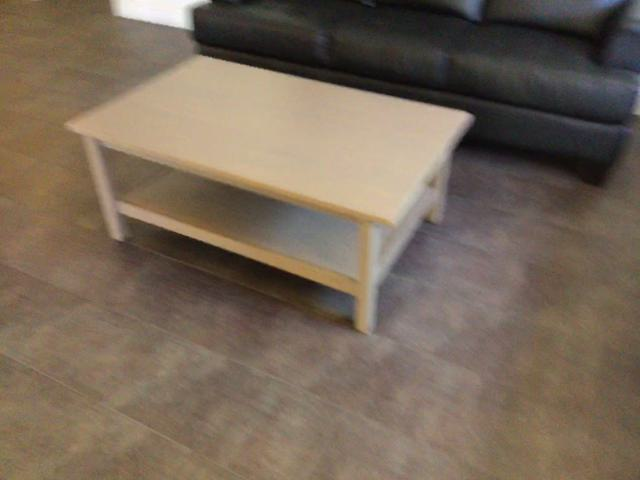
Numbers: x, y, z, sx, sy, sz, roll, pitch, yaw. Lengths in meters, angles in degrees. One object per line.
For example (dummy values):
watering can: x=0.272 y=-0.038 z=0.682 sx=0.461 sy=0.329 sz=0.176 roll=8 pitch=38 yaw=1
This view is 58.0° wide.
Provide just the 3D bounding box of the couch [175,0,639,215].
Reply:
couch: x=0.470 y=-1.080 z=2.840 sx=2.170 sy=0.970 sz=0.970 roll=19 pitch=41 yaw=20
